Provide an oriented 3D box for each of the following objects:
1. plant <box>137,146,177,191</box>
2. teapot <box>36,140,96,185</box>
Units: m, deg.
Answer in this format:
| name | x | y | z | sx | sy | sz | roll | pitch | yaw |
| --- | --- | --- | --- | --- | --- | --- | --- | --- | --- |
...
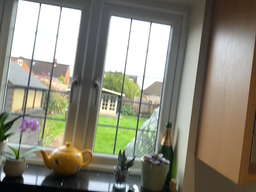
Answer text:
| name | x | y | z | sx | sy | sz | roll | pitch | yaw |
| --- | --- | --- | --- | --- | --- | --- | --- | --- | --- |
| plant | 0.130 | 0.350 | 1.010 | 0.130 | 0.170 | 0.170 | 8 | -1 | -6 |
| teapot | -0.290 | 0.320 | 1.040 | 0.240 | 0.150 | 0.170 | 8 | -1 | -8 |
